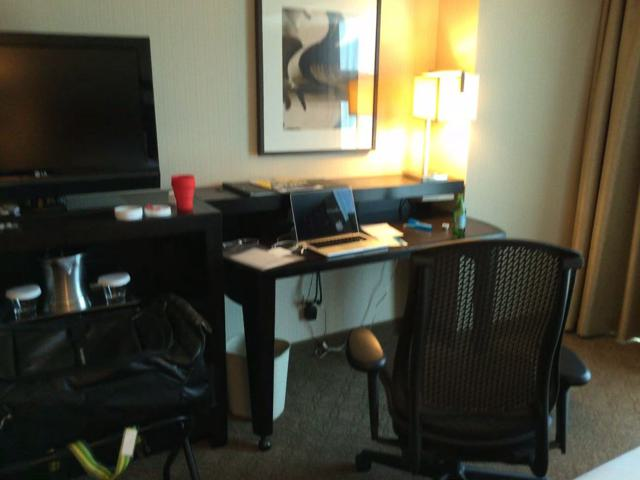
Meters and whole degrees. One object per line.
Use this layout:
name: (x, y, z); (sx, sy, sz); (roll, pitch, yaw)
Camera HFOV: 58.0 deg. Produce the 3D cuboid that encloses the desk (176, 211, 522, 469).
desk: (0.140, 0.340, 2.670); (1.420, 0.790, 0.650); (-4, 15, -32)
